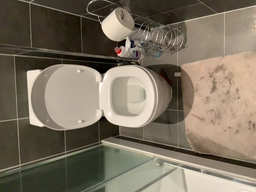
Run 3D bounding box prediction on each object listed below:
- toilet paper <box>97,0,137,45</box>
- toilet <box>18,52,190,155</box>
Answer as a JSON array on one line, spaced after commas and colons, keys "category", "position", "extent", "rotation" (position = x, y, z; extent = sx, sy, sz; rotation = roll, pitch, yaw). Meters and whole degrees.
[{"category": "toilet paper", "position": [-0.050, -0.350, 1.030], "extent": [0.130, 0.140, 0.170], "rotation": [2, 95, 41]}, {"category": "toilet", "position": [-0.110, 0.000, 1.290], "extent": [0.660, 0.790, 0.380], "rotation": [2, 95, 41]}]
